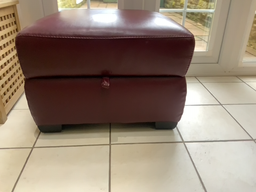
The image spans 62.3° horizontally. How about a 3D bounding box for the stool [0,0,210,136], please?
[{"bbox_3d":[-0.090,-0.200,1.060,0.650,0.460,0.670,0,28,-4],"label":"stool"}]
